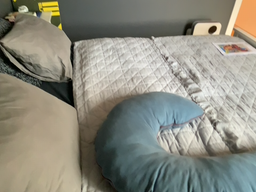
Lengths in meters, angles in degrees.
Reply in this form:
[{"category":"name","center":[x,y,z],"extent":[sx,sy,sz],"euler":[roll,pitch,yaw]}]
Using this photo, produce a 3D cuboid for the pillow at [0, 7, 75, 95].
[{"category":"pillow","center":[-0.580,-0.320,1.350],"extent":[0.410,0.310,0.570],"euler":[-7,39,-12]}]
